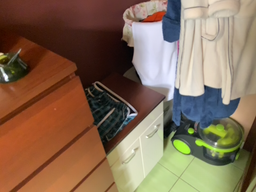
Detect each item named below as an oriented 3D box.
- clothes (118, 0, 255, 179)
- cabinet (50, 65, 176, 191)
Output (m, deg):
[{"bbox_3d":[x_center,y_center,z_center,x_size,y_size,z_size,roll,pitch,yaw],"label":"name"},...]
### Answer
[{"bbox_3d":[0.360,-0.340,1.140,0.730,1.800,0.380,29,54,34],"label":"clothes"},{"bbox_3d":[-0.040,0.280,1.450,0.460,0.680,0.580,28,54,33],"label":"cabinet"}]
